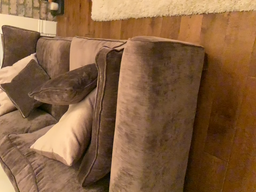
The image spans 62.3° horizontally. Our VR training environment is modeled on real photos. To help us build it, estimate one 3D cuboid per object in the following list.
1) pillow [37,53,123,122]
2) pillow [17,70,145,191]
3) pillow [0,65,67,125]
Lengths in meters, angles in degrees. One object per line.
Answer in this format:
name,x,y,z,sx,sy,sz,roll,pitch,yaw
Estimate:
pillow,-0.270,-0.040,1.150,0.140,0.350,0.350,59,146,4
pillow,-0.250,0.140,1.110,0.440,0.510,0.200,15,153,45
pillow,-0.770,-0.030,1.680,0.380,0.430,0.160,7,148,31
